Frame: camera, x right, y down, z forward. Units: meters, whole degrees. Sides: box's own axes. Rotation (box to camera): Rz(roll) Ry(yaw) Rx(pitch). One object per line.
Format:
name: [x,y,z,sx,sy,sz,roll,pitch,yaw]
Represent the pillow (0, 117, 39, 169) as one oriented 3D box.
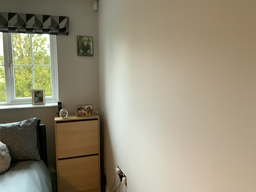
pillow: [-1.120,0.440,2.040,0.470,0.420,0.260,-1,0,-24]
